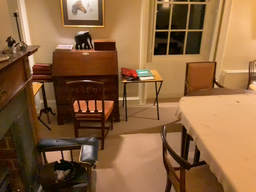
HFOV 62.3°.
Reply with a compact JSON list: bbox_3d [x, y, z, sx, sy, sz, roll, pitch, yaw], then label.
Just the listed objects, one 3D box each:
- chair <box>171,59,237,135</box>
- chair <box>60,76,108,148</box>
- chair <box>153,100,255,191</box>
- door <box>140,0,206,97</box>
[{"bbox_3d":[1.030,0.000,3.030,0.610,0.950,0.510,-2,23,-5],"label":"chair"},{"bbox_3d":[-0.530,0.190,2.770,0.450,0.770,0.550,1,23,1],"label":"chair"},{"bbox_3d":[0.540,0.580,1.660,0.540,0.950,0.530,-2,23,-5],"label":"chair"},{"bbox_3d":[0.780,-1.250,3.700,1.030,2.650,0.160,-2,23,-6],"label":"door"}]
